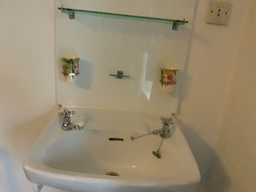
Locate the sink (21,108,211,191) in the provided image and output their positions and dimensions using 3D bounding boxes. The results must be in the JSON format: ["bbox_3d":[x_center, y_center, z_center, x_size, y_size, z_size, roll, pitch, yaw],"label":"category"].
[{"bbox_3d":[-0.040,0.260,0.860,0.570,0.240,0.400,5,18,0],"label":"sink"}]
